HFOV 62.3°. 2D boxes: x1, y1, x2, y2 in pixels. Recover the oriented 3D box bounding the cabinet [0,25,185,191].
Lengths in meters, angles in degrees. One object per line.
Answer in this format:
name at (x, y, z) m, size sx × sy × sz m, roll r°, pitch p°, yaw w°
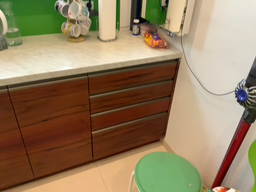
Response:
cabinet at (-0.590, 0.080, 1.490) m, size 1.790 × 0.850 × 0.610 m, roll -12°, pitch 37°, yaw -23°
